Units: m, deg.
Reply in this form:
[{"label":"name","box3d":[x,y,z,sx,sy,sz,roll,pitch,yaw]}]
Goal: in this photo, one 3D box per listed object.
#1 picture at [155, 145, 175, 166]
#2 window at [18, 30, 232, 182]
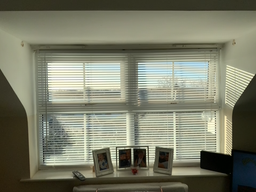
[{"label":"picture","box3d":[0.330,0.540,1.910,0.160,0.170,0.060,-4,-24,7]},{"label":"window","box3d":[0.000,0.080,1.940,1.880,1.320,0.110,-1,1,-2]}]
